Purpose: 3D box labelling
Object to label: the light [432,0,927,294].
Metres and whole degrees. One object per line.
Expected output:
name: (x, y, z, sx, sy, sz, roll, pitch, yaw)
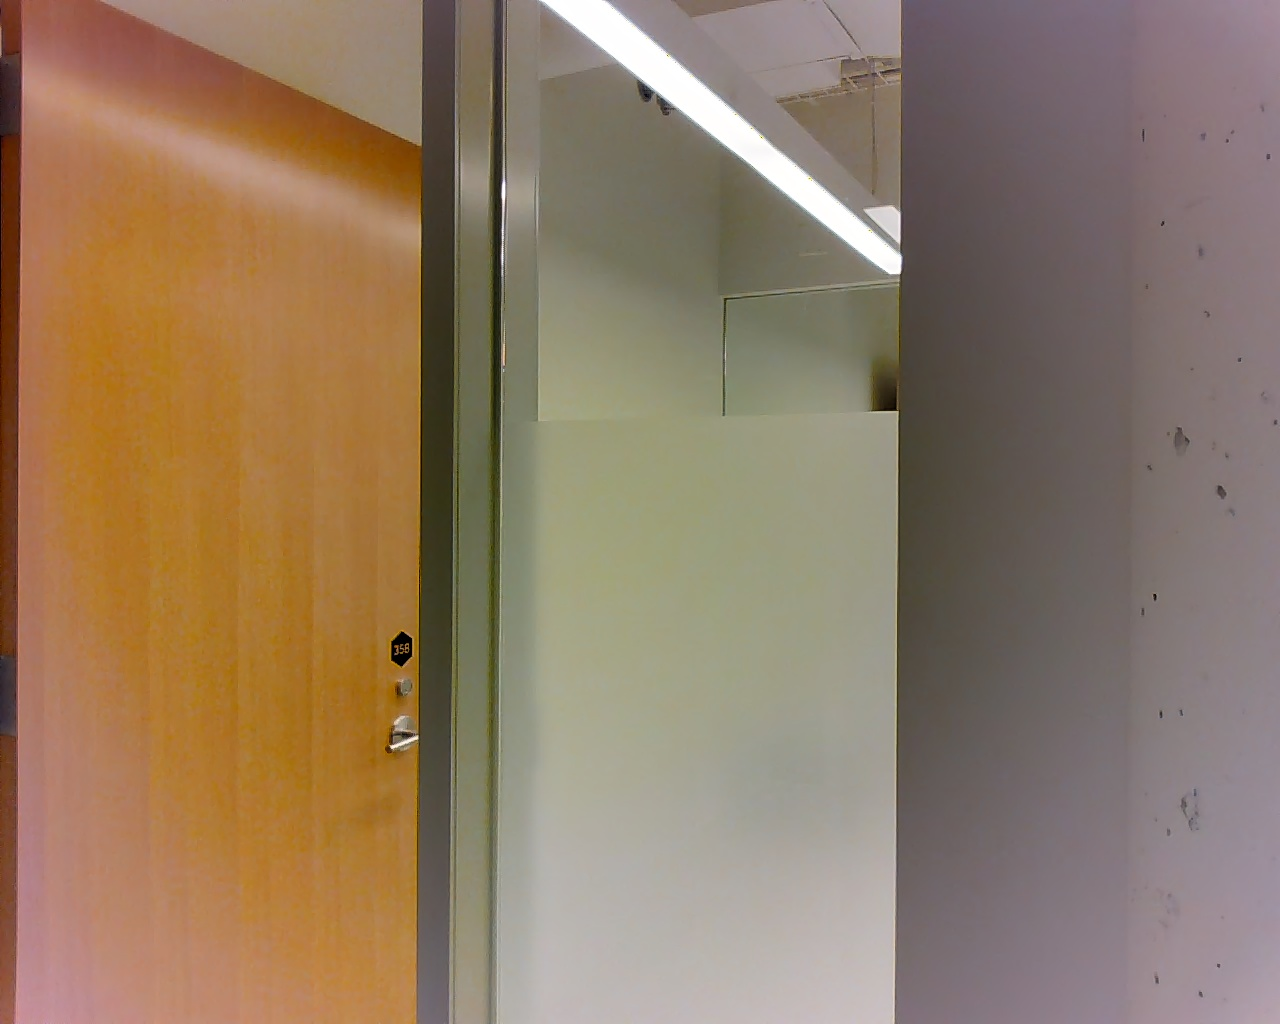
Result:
light: (0.300, -0.850, 2.500, 0.210, 0.220, 2.460, 1, 0, 27)
